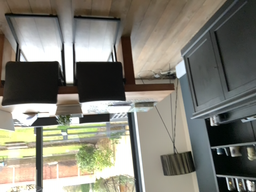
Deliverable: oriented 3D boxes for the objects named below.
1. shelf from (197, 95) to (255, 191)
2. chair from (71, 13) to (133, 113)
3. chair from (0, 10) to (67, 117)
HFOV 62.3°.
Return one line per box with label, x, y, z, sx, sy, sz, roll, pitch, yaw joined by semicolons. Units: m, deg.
shelf;1.310;0.760;2.040;0.360;1.420;1.370;-3;165;-13
chair;-0.320;-0.320;2.290;0.520;0.880;0.580;-2;165;-14
chair;-0.920;-0.290;2.150;0.520;0.880;0.580;-2;165;-14
